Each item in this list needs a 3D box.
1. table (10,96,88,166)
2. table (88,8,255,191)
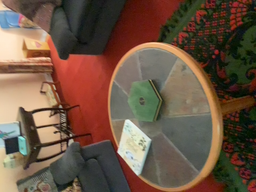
[{"bbox_3d":[-1.010,0.420,2.660,0.590,0.690,0.530,-50,58,42],"label":"table"},{"bbox_3d":[0.230,0.110,1.340,0.860,0.410,0.830,-51,58,42],"label":"table"}]
